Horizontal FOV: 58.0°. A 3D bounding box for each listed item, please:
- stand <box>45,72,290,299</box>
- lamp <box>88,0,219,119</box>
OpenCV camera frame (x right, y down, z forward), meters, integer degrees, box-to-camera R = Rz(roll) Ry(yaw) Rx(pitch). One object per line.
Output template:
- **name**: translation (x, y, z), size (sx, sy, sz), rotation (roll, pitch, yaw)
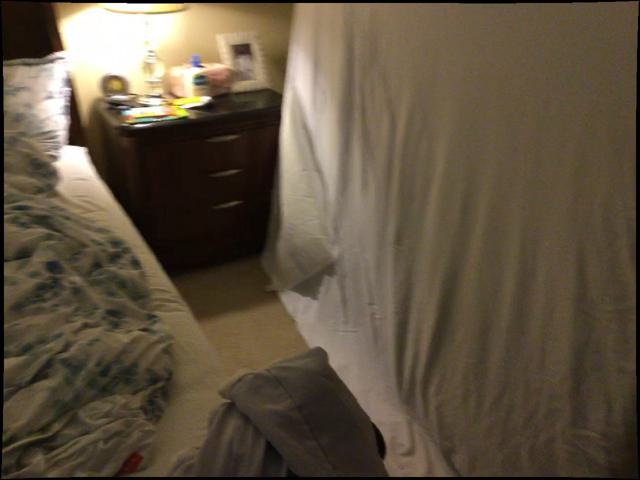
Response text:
- **stand**: translation (-0.678, -0.301, 2.710), size (0.899, 0.731, 0.570), rotation (-17, 35, -27)
- **lamp**: translation (-0.718, -0.912, 2.460), size (0.399, 0.631, 0.400), rotation (-17, 35, -27)
